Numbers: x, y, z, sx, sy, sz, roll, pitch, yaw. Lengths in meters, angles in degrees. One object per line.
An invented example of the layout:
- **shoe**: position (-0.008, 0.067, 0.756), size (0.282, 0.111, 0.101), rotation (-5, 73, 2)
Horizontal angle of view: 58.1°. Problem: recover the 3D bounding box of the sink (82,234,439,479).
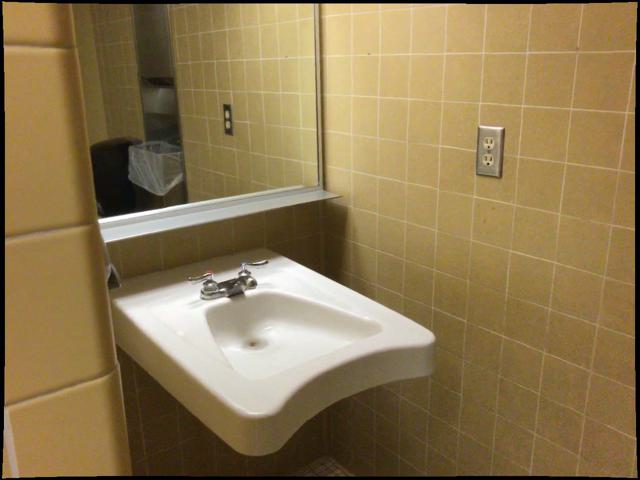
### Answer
- **sink**: position (-0.170, 0.211, 1.380), size (0.529, 0.180, 0.709), rotation (-16, 24, -37)
